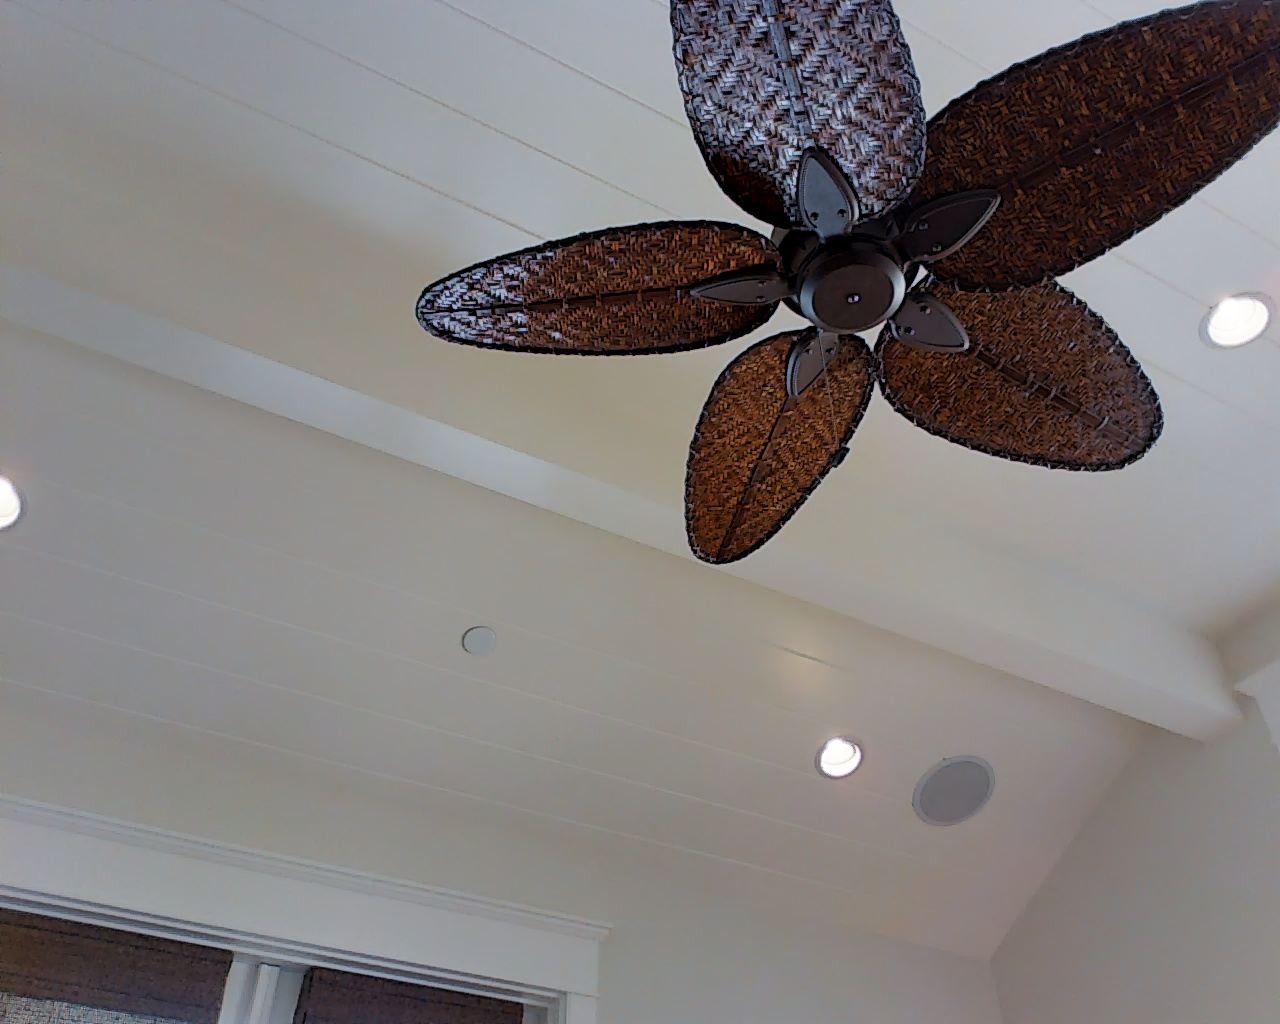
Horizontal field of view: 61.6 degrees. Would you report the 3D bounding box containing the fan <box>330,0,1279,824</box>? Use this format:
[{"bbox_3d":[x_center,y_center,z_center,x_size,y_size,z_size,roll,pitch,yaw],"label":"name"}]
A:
[{"bbox_3d":[0.360,-0.340,1.700,1.369,1.320,0.320,20,-46,-20],"label":"fan"}]
